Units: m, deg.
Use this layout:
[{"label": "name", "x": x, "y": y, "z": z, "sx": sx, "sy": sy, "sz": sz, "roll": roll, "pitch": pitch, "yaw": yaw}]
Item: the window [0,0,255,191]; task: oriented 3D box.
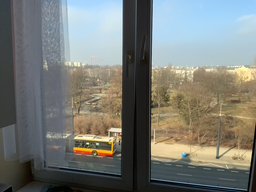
[{"label": "window", "x": 0.020, "y": -0.200, "z": 1.120, "sx": 1.630, "sy": 1.950, "sz": 0.220, "roll": 3, "pitch": 8, "yaw": 14}]
